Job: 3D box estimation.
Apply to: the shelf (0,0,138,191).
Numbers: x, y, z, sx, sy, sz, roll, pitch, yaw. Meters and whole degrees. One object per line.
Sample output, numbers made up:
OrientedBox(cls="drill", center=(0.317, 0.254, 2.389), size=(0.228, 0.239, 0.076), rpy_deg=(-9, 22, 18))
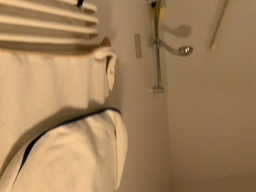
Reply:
OrientedBox(cls="shelf", center=(-0.240, 0.070, 0.670), size=(0.220, 0.730, 0.630), rpy_deg=(0, -170, 30))
